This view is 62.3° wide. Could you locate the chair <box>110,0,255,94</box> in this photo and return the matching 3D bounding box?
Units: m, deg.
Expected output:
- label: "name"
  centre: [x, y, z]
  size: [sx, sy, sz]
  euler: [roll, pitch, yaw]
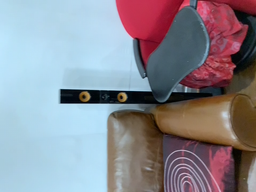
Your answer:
- label: "chair"
  centre: [0.390, -0.430, 1.390]
  size: [0.690, 0.820, 0.740]
  euler: [163, 106, -66]
